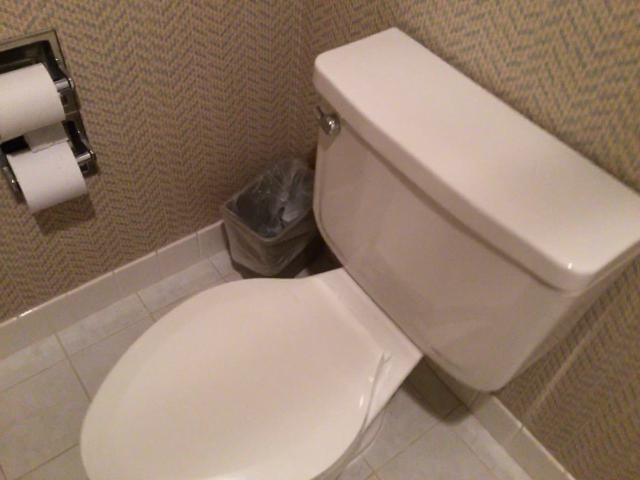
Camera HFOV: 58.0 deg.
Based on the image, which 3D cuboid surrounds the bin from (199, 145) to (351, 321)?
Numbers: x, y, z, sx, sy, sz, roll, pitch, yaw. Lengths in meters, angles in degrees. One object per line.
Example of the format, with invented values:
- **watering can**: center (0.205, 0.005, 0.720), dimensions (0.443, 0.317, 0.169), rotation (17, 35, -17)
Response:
- **bin**: center (-0.110, -0.020, 1.410), dimensions (0.260, 0.270, 0.230), rotation (-27, 55, -26)

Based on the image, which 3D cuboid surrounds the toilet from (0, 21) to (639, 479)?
- **toilet**: center (-0.030, 0.190, 0.950), dimensions (0.740, 0.730, 0.530), rotation (-27, 55, -26)

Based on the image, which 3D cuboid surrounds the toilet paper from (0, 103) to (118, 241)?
- **toilet paper**: center (-0.470, -0.120, 1.030), dimensions (0.150, 0.180, 0.100), rotation (-27, 55, -26)
